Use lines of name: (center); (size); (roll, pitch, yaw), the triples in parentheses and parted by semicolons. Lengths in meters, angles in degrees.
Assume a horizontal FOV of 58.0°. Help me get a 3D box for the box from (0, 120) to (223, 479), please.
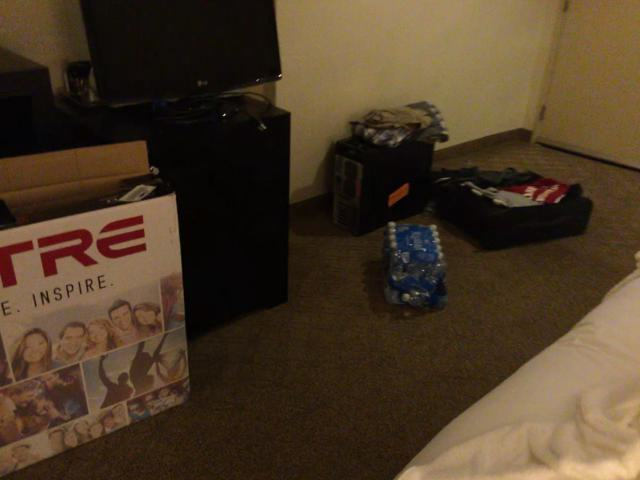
box: (-0.850, 0.230, 1.420); (1.110, 0.810, 0.340); (-18, 32, -30)
